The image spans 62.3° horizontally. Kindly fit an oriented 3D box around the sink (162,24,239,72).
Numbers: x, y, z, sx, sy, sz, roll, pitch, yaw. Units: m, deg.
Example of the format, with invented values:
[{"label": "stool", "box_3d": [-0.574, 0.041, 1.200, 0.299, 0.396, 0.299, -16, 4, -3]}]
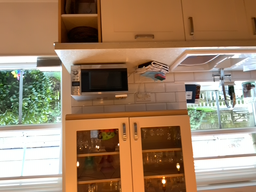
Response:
[{"label": "sink", "box_3d": [0.580, -0.390, 1.830, 0.430, 0.210, 0.540, -3, 171, -6]}]
